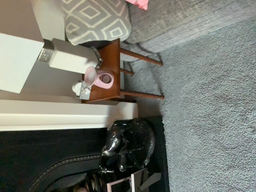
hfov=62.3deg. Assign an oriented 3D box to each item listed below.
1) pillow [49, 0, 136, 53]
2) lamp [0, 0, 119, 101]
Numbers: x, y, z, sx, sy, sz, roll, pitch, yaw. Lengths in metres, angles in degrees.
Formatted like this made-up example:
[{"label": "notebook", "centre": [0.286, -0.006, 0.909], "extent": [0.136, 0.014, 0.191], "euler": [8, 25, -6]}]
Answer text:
[{"label": "pillow", "centre": [-0.190, -0.480, 1.150], "extent": [0.230, 0.380, 0.340], "euler": [-19, 72, 38]}, {"label": "lamp", "centre": [-0.460, -0.270, 1.110], "extent": [0.430, 0.690, 0.490], "euler": [-13, 76, 44]}]
